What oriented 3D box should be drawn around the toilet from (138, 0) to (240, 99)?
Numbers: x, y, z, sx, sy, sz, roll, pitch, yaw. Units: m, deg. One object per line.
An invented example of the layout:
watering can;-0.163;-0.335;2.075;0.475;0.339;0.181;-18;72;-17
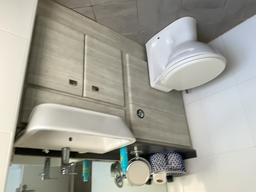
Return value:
toilet;0.420;-0.320;1.580;0.410;0.460;0.520;16;149;-37
